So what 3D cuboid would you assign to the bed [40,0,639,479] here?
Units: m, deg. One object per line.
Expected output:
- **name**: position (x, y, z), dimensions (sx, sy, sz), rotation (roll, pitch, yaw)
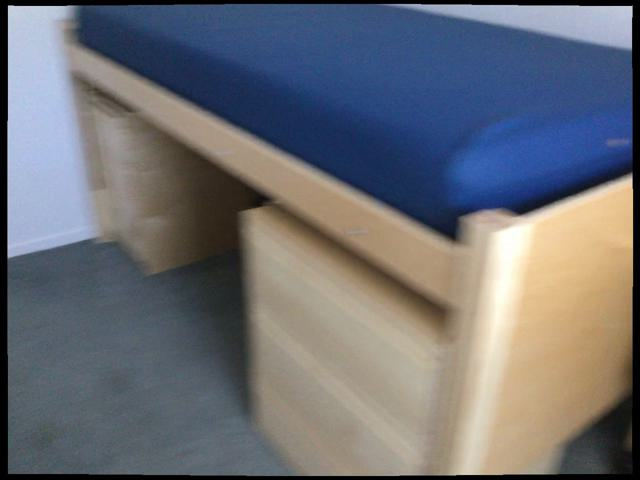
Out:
- **bed**: position (0.180, -0.250, 2.200), dimensions (1.548, 1.082, 2.289), rotation (-19, 36, -33)
